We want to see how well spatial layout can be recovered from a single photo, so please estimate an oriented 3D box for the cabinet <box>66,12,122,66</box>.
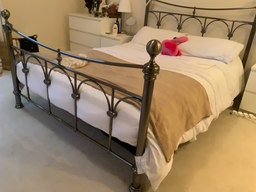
[{"bbox_3d":[-0.620,-1.060,3.820,0.820,0.770,0.550,23,31,34],"label":"cabinet"}]
